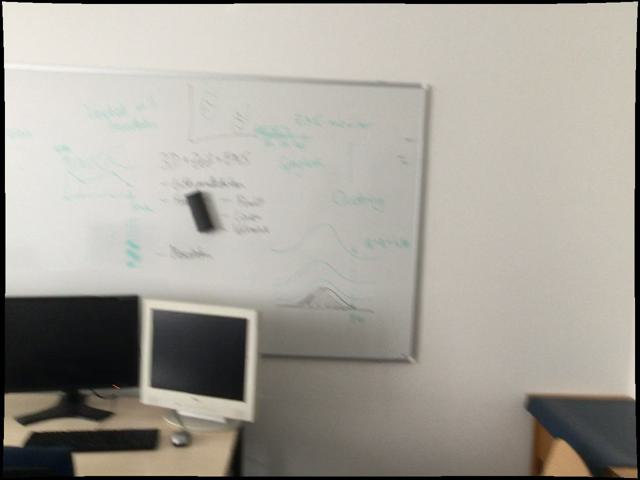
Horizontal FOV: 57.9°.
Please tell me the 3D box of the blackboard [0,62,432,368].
[{"bbox_3d":[-0.519,-0.100,2.420,1.878,1.171,0.170,2,7,1],"label":"blackboard"}]
